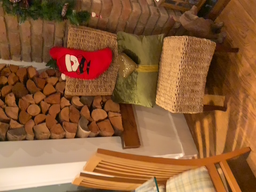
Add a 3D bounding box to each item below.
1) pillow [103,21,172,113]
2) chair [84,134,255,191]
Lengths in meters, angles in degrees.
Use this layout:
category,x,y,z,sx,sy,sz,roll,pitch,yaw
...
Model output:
category,x,y,z,sx,sy,sz,roll,pitch,yaw
pillow,0.060,-0.190,1.500,0.180,0.320,0.560,27,106,59
chair,0.310,0.590,1.180,0.490,0.970,0.560,125,140,-51
